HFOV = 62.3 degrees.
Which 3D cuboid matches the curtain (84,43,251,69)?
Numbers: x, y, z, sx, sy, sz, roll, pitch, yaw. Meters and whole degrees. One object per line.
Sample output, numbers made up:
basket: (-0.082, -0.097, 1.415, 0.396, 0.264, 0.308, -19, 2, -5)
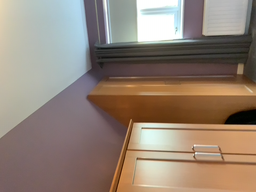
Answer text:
curtain: (0.510, -0.580, 3.120, 0.150, 2.320, 0.330, -69, -22, -68)
